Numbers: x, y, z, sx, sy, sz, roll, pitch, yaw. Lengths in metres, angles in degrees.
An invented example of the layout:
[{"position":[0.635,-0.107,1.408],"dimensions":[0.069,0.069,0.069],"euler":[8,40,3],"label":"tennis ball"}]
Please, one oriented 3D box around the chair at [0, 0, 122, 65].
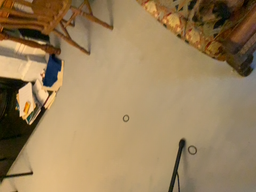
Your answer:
[{"position":[-0.600,-0.680,1.540],"dimensions":[0.520,0.880,0.550],"euler":[-37,67,28],"label":"chair"}]
